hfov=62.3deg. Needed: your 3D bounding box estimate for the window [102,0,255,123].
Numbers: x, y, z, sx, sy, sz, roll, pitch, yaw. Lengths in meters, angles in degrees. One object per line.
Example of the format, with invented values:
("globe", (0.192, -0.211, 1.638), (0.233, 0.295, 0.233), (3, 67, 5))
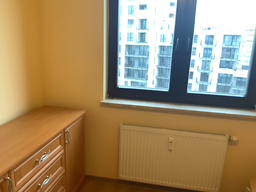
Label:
("window", (0.490, -0.560, 1.960), (1.430, 1.500, 0.180), (5, 15, 9))
